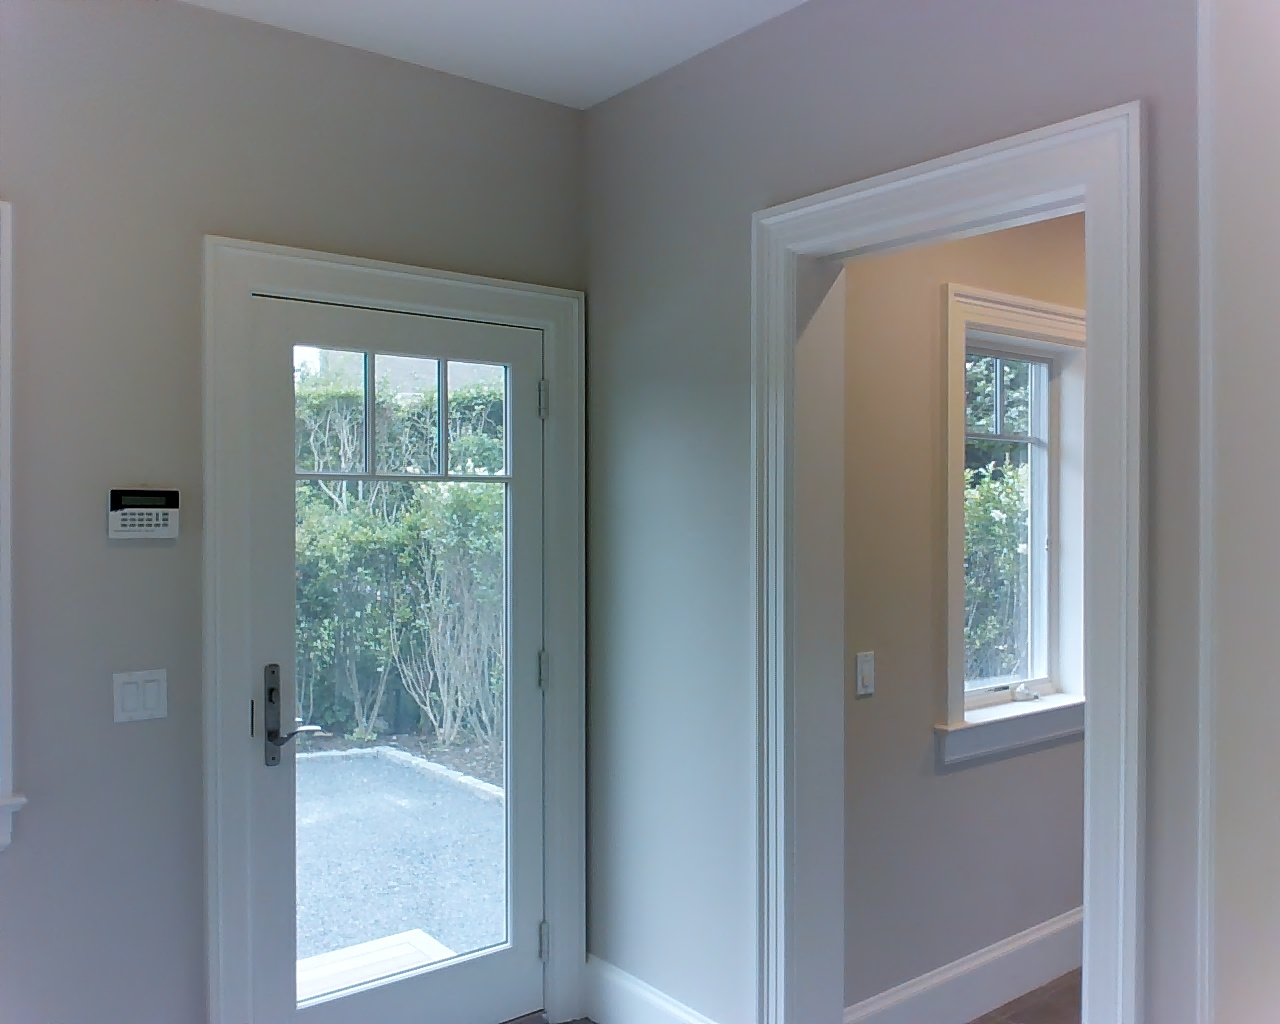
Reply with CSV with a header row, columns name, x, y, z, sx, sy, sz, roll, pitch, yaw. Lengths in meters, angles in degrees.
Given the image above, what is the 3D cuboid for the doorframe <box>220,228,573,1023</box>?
name,x,y,z,sx,sy,sz,roll,pitch,yaw
doorframe,-0.610,0.430,2.890,0.980,2.210,0.080,0,1,-38
